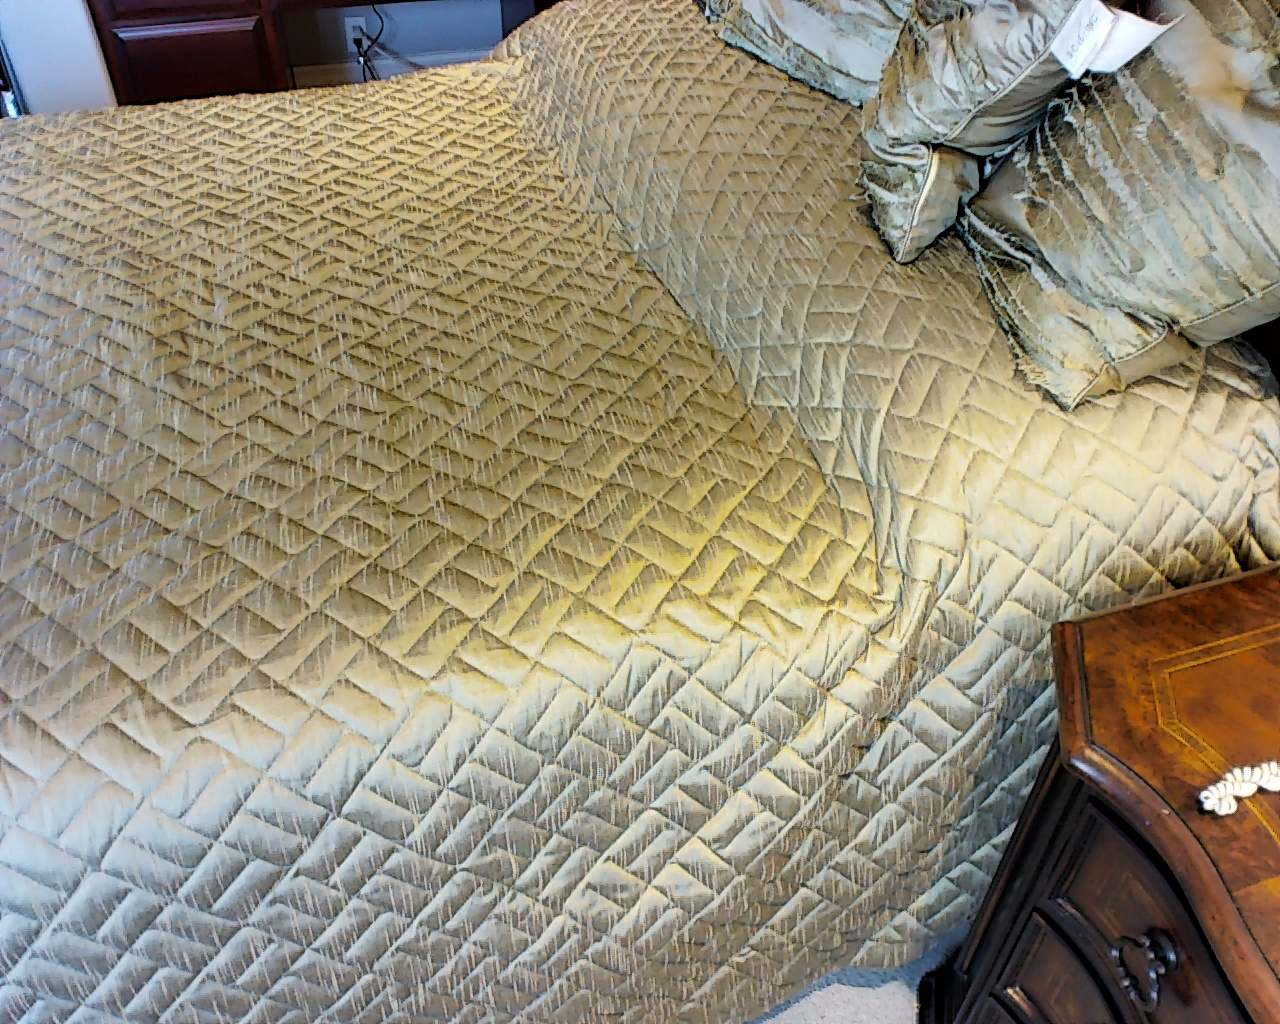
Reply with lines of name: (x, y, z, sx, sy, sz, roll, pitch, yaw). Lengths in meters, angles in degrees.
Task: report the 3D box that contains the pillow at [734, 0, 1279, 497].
pillow: (0.420, -0.430, 1.080, 0.260, 0.480, 0.680, 7, 37, -26)
